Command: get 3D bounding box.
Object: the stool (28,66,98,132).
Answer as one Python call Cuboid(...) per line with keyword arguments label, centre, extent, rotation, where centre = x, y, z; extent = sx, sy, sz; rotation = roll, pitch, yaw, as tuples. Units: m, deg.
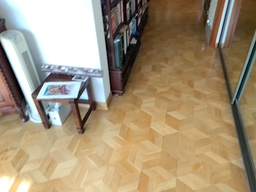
Cuboid(label="stool", centre=(-0.520, 0.020, 1.810), extent=(0.380, 0.380, 0.350), rotation=(7, 40, 11))
